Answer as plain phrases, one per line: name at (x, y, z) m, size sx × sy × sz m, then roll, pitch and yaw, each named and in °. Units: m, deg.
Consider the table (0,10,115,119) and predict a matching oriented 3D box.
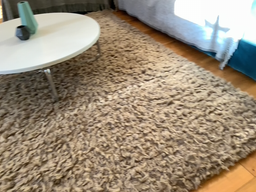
table at (-0.660, -0.310, 1.530) m, size 0.920 × 0.310 × 0.900 m, roll 5°, pitch 40°, yaw 10°
